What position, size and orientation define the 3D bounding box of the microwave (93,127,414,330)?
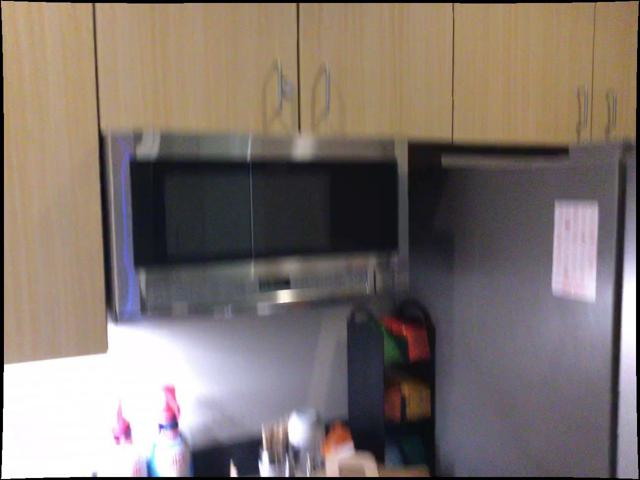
[{"bbox_3d":[-0.160,-0.060,1.270,0.599,0.341,0.400,-5,8,-22],"label":"microwave"}]
